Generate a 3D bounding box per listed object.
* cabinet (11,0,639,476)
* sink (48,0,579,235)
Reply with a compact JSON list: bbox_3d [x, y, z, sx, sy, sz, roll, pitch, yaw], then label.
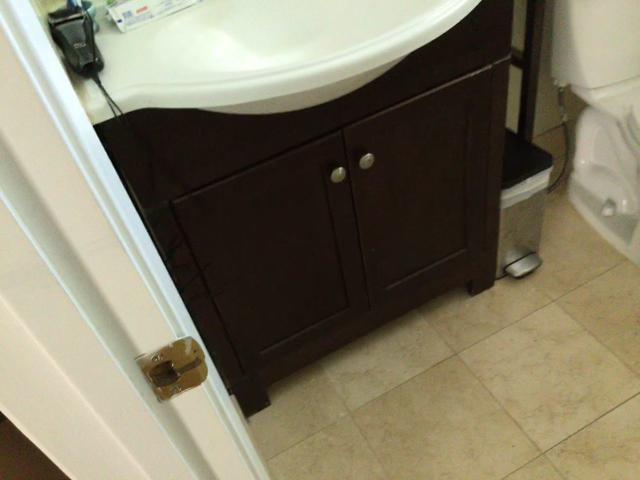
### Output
[{"bbox_3d":[0.090,-0.170,1.220,0.930,1.050,0.470,-27,44,-12],"label":"cabinet"},{"bbox_3d":[-0.020,-0.360,0.990,0.770,0.180,0.440,-27,44,-12],"label":"sink"}]
